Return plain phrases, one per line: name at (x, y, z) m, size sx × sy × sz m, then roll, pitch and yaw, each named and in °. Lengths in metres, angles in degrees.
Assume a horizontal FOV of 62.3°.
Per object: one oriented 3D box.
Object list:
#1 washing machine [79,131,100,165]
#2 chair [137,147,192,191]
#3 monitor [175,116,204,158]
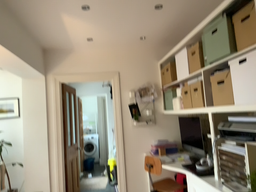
washing machine at (-1.250, 1.660, 6.880) m, size 0.580 × 0.920 × 0.640 m, roll -3°, pitch -4°, yaw -12°
chair at (0.470, 1.150, 2.710) m, size 0.530 × 0.880 × 0.380 m, roll -1°, pitch -5°, yaw -28°
monitor at (0.790, 0.510, 2.820) m, size 0.050 × 0.490 × 0.660 m, roll -5°, pitch -4°, yaw -9°
